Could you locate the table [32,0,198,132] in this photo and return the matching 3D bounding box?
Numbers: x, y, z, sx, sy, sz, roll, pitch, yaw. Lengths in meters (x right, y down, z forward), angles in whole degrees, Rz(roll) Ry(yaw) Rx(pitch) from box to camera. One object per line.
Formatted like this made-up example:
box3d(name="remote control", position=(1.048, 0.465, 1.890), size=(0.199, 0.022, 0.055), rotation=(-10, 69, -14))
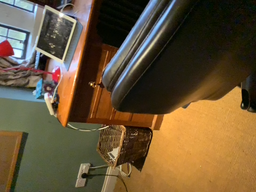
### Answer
box3d(name="table", position=(-0.120, -0.680, 1.770), size=(0.940, 0.830, 1.680), rotation=(28, 106, 53))
